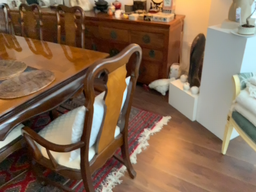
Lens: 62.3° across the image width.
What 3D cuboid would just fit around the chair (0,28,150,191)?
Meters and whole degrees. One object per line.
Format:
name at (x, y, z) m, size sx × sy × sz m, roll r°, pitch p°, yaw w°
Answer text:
chair at (-0.280, 0.180, 1.350) m, size 0.660 × 1.010 × 0.540 m, roll 15°, pitch 36°, yaw 27°
